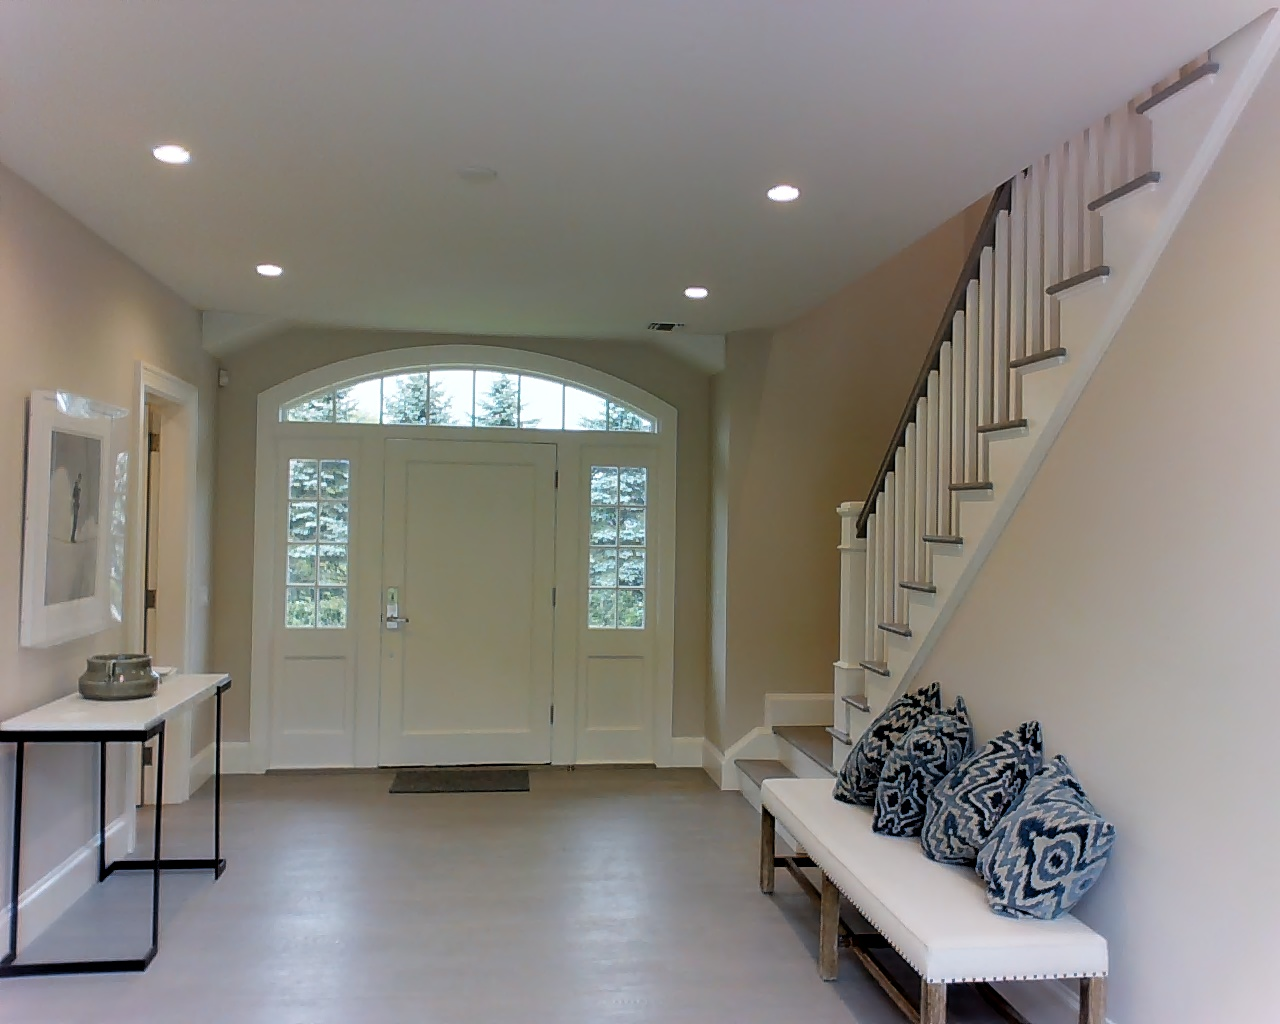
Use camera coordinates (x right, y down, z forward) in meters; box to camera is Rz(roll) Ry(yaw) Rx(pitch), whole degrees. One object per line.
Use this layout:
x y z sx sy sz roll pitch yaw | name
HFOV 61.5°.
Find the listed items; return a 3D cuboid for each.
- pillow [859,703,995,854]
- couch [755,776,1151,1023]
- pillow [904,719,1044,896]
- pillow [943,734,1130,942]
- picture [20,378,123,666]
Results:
1.010 0.930 3.820 0.340 0.440 0.380 1 -1 -9 | pillow
0.900 1.390 3.700 0.550 0.490 2.020 1 -1 -7 | couch
1.060 0.930 3.450 0.290 0.460 0.390 1 -1 -7 | pillow
1.120 0.910 3.090 0.300 0.440 0.510 1 -1 -7 | pillow
-2.200 0.040 4.200 0.060 1.010 0.830 1 -1 -8 | picture
